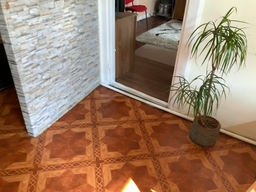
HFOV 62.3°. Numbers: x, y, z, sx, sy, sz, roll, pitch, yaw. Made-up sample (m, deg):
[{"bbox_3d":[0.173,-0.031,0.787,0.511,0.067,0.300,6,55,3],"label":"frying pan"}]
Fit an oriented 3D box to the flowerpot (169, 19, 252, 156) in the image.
[{"bbox_3d":[0.670,-0.060,1.810,0.350,1.010,0.470,19,36,23],"label":"flowerpot"}]
